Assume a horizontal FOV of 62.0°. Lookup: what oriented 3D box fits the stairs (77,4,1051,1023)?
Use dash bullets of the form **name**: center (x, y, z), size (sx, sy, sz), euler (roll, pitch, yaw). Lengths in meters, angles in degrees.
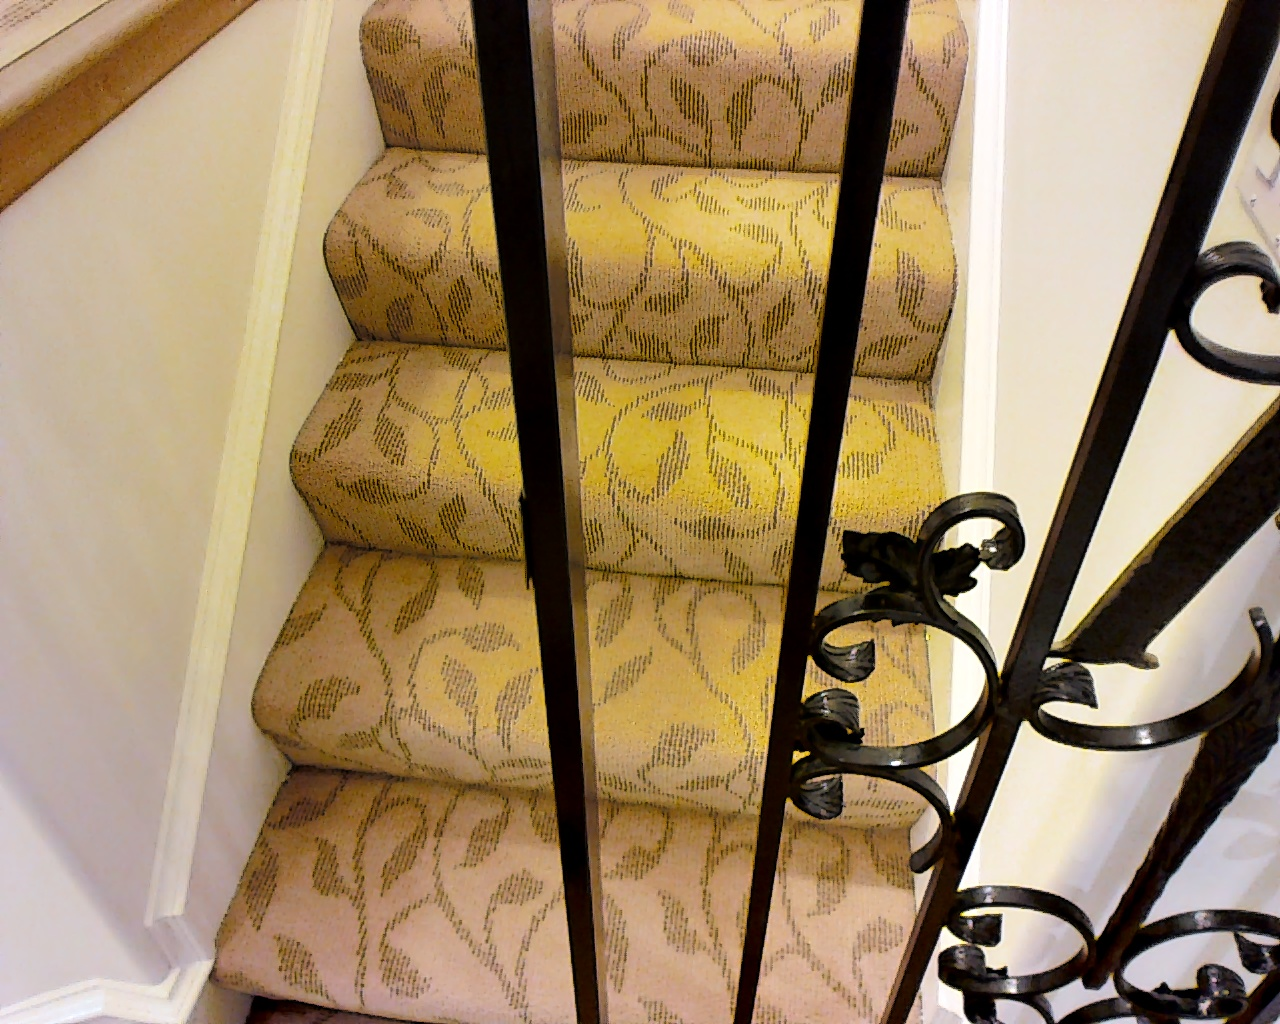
- **stairs**: center (-0.030, -0.010, 1.540), size (0.870, 1.660, 0.420), euler (-28, -58, 30)
